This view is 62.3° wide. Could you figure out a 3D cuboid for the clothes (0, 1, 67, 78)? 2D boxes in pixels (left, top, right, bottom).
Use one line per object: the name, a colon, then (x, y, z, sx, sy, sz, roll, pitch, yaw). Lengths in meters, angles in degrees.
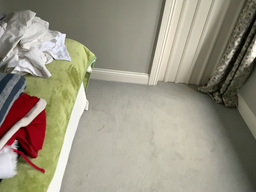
clothes: (-0.750, -0.350, 1.160, 0.690, 0.180, 0.520, 5, 38, -4)
